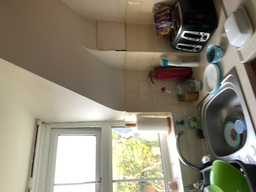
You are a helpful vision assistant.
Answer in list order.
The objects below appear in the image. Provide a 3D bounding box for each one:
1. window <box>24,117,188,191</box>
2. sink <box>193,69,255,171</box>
[{"bbox_3d":[-0.140,0.600,1.530,0.160,1.100,0.870,104,165,-66],"label":"window"},{"bbox_3d":[0.590,0.170,1.220,0.530,0.160,0.430,103,166,-64],"label":"sink"}]
